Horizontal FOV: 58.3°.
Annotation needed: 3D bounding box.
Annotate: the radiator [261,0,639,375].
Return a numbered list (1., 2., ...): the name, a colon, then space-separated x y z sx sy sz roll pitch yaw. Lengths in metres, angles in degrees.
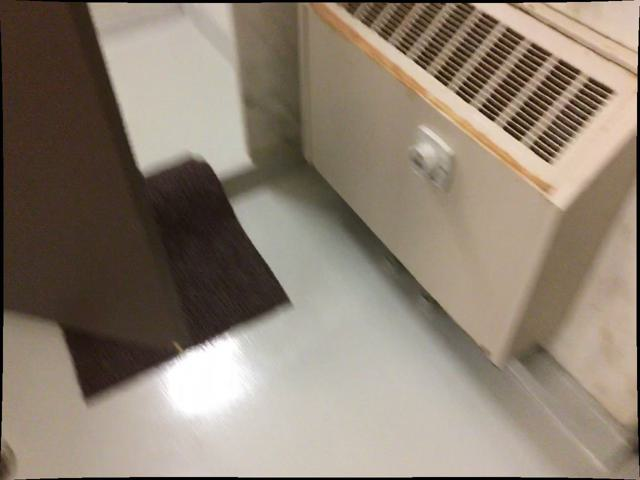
1. radiator: 0.160 -0.210 1.050 0.200 0.540 0.720 -25 51 -20

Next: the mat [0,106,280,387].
1. mat: -0.490 -0.040 1.390 0.550 0.120 0.610 -25 51 -20
